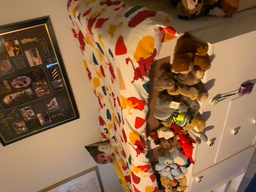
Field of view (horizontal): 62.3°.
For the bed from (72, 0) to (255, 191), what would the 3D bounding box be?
[{"bbox_3d":[0.380,0.190,2.030,1.150,1.110,1.970,50,154,48],"label":"bed"}]
